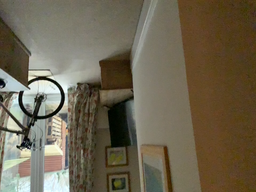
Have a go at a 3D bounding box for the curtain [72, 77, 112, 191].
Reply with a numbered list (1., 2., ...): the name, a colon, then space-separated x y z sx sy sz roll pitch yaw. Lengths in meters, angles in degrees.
1. curtain: -0.590 1.050 3.540 0.590 2.740 0.290 -3 168 -6
